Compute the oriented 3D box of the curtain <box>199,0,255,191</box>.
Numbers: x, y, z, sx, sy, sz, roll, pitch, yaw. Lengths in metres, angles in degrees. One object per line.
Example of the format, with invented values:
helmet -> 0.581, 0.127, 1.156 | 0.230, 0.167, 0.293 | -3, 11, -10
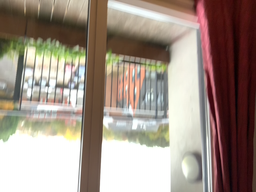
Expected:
curtain -> 0.890, 0.090, 1.740 | 0.630, 2.190, 0.140 | 6, 170, -27
